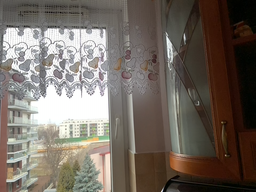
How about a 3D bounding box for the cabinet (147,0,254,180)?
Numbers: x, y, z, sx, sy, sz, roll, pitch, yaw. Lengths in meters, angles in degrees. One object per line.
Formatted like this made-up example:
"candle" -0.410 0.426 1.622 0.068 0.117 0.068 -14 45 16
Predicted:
"cabinet" 0.290 -0.200 0.880 0.270 0.950 0.330 -8 -9 35
